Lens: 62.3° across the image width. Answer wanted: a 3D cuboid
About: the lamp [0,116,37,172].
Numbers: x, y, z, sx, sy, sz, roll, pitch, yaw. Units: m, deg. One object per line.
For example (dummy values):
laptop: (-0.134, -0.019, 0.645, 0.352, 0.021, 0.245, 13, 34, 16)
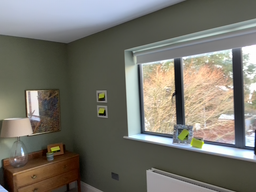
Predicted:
lamp: (-1.580, 0.640, 2.990, 0.320, 0.660, 0.420, 0, 3, 42)
